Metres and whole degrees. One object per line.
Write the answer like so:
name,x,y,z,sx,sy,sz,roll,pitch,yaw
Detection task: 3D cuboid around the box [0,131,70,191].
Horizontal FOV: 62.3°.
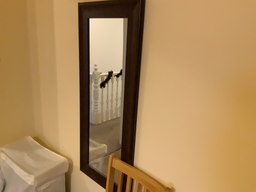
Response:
box,-0.760,0.700,1.660,0.550,0.640,0.330,15,20,37
